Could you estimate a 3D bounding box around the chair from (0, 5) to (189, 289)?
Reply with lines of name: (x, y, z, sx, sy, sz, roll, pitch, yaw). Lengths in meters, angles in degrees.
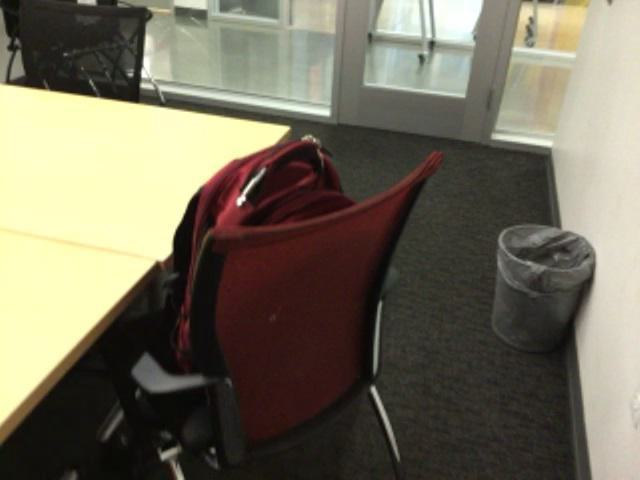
chair: (-0.860, -0.340, 2.000, 0.580, 0.770, 0.540, 8, 31, 8)

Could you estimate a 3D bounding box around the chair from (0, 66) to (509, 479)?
chair: (-0.120, 0.100, 1.170, 0.630, 0.660, 0.680, 24, 37, 31)
